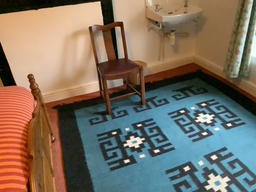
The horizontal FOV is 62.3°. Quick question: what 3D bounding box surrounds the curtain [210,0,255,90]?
[{"bbox_3d":[1.100,-0.900,1.920,0.310,1.710,0.310,-16,33,-19],"label":"curtain"}]
